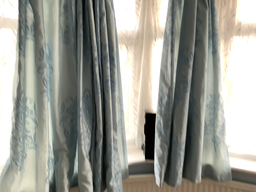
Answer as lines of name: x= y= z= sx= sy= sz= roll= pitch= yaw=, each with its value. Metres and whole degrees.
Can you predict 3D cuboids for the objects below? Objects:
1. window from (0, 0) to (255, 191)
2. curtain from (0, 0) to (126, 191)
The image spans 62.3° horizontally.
window: x=0.450 y=-0.150 z=1.270 sx=2.420 sy=1.580 sz=0.840 roll=1 pitch=8 yaw=13
curtain: x=-0.370 y=-0.080 z=1.260 sx=0.690 sy=1.650 sz=0.180 roll=-4 pitch=9 yaw=-21
